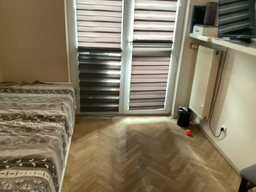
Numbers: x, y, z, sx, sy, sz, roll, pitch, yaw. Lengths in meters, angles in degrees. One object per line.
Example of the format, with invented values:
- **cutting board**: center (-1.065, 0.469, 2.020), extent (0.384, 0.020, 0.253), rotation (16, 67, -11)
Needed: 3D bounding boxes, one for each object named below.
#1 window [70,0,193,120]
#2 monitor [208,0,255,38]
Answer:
- **window**: center (0.040, -0.900, 2.700), extent (1.480, 2.640, 0.130), rotation (1, 22, -8)
- **monitor**: center (0.980, -0.800, 1.900), extent (0.090, 0.530, 0.830), rotation (-4, 16, -6)
